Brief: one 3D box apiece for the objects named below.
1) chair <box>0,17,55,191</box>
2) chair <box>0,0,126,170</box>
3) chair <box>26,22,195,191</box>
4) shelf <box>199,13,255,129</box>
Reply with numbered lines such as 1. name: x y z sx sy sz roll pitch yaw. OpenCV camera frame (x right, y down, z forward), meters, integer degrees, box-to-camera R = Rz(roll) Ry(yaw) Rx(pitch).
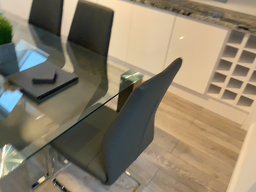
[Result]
1. chair: -0.800 0.170 1.080 0.460 1.020 0.570 26 40 23
2. chair: -0.420 -0.100 1.510 0.460 1.030 0.570 27 40 24
3. chair: -0.110 0.210 1.180 0.540 1.000 0.460 27 40 24
4. shelf: 1.230 -0.280 2.180 0.520 0.880 0.660 27 40 24
